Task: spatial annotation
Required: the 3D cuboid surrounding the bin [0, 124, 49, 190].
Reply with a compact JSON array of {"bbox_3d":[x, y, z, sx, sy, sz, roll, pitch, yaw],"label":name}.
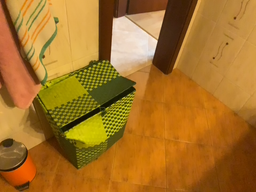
[{"bbox_3d":[-0.620,0.350,1.210,0.230,0.260,0.180,-27,58,-27],"label":"bin"}]
